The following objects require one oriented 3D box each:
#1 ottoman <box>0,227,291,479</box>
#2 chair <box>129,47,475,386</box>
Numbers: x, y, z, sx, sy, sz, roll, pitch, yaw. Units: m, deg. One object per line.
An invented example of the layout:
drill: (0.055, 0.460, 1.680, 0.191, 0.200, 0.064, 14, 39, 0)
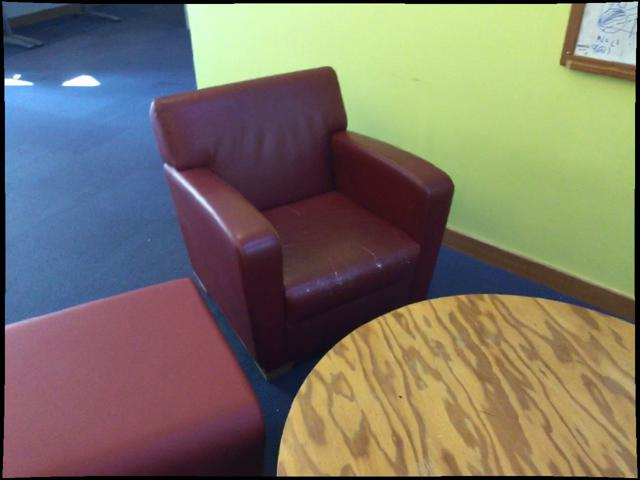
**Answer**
ottoman: (-0.559, 0.470, 1.600, 0.719, 0.500, 0.710, -21, 41, -14)
chair: (-0.070, -0.160, 2.180, 0.860, 0.730, 0.810, -30, 34, -16)
